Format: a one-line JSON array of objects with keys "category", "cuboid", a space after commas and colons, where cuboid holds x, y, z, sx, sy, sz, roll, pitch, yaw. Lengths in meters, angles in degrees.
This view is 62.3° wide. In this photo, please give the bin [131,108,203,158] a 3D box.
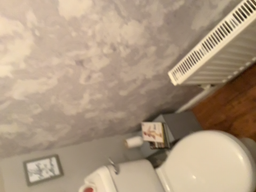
[{"category": "bin", "cuboid": [0.260, 0.240, 1.420, 0.280, 0.340, 0.180, -47, 58, 42]}]
